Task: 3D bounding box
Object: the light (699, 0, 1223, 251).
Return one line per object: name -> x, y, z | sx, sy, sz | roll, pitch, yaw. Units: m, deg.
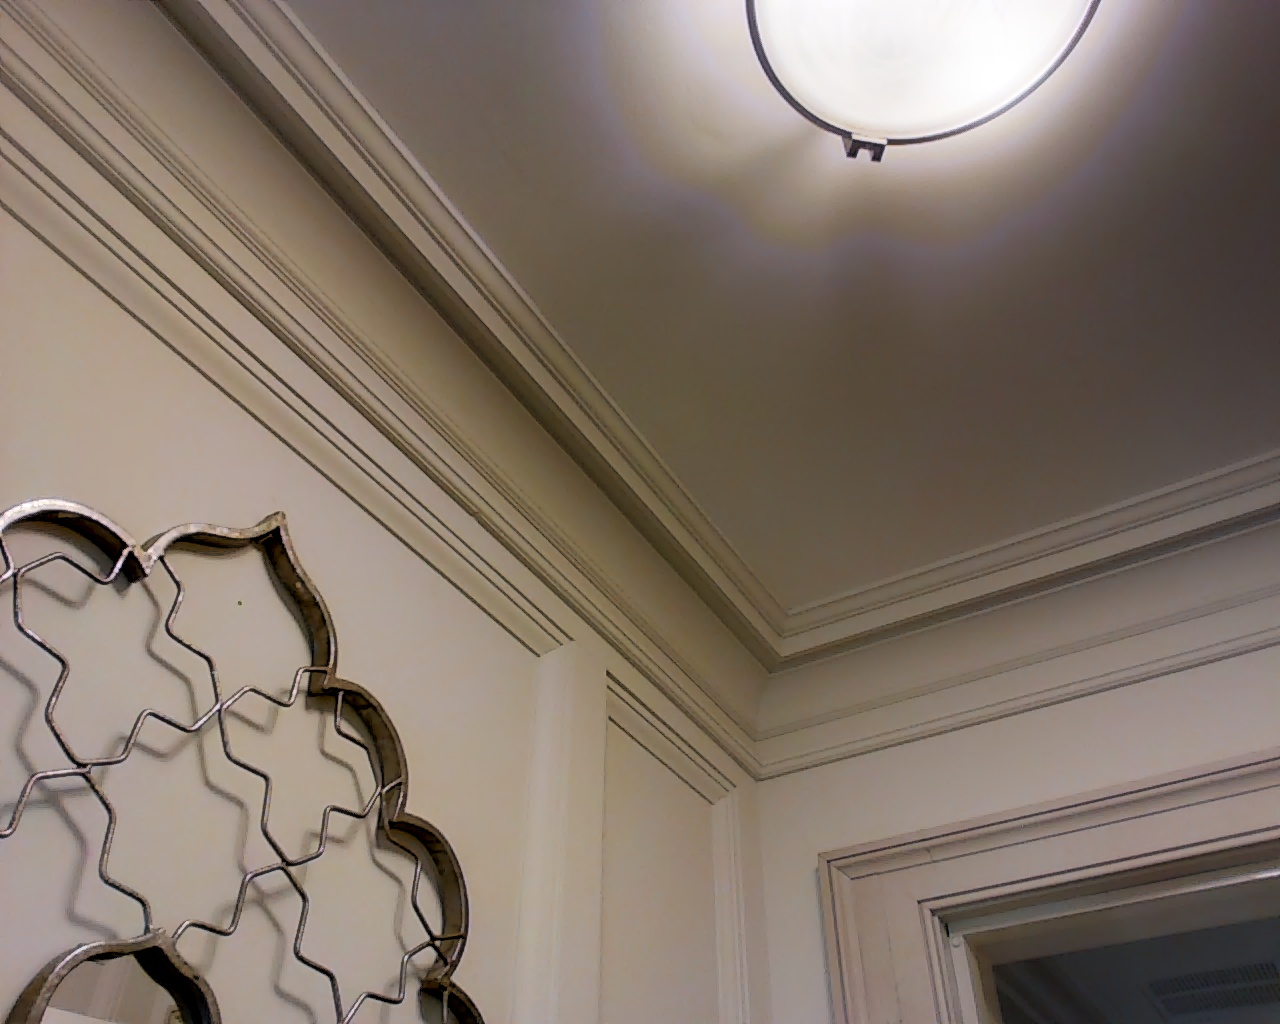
light -> 0.240, -0.450, 0.870 | 0.340, 0.130, 0.350 | -21, -46, 23
